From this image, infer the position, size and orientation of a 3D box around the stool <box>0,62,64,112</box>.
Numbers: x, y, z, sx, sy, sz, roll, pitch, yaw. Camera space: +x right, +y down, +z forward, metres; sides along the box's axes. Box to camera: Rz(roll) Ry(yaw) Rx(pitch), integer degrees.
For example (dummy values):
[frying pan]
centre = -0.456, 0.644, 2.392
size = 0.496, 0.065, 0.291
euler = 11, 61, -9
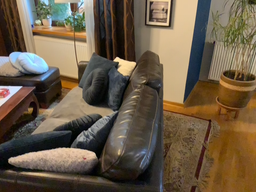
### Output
[stool]
centre = -1.480, -0.150, 3.050
size = 0.880, 0.480, 0.590
euler = 2, 28, 4
